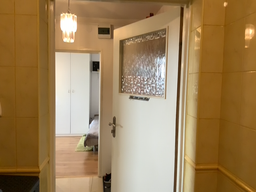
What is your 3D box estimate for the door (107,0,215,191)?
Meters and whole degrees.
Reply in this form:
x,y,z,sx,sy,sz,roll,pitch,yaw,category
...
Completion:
x,y,z,sx,sy,sz,roll,pitch,yaw,category
0.150,0.370,1.740,0.140,2.010,1.030,-2,5,-35,door
